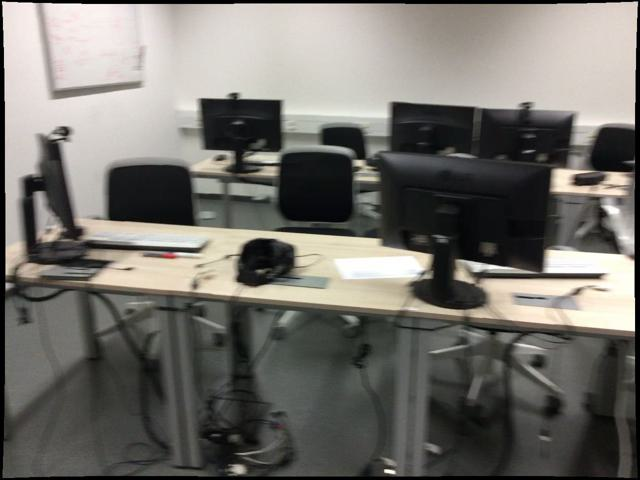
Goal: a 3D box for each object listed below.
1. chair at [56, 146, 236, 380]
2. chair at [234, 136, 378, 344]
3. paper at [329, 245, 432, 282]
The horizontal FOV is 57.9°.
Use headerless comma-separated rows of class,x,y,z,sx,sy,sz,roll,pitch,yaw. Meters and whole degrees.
chair,-0.829,0.070,2.950,0.669,0.931,0.720,-6,20,-11
chair,-0.020,-0.040,3.160,0.639,0.911,0.780,1,20,7
paper,0.210,0.080,2.090,0.330,0.020,0.250,-3,20,-4
